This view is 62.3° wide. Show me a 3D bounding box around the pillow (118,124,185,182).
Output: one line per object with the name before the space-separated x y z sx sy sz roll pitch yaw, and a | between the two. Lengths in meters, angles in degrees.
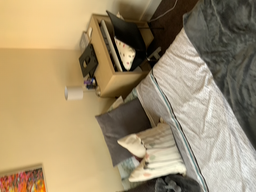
pillow | 0.170 0.460 1.680 0.410 0.300 0.380 -19 64 42

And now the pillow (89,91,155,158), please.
pillow | -0.050 0.290 1.960 0.300 0.550 0.390 -27 53 22
